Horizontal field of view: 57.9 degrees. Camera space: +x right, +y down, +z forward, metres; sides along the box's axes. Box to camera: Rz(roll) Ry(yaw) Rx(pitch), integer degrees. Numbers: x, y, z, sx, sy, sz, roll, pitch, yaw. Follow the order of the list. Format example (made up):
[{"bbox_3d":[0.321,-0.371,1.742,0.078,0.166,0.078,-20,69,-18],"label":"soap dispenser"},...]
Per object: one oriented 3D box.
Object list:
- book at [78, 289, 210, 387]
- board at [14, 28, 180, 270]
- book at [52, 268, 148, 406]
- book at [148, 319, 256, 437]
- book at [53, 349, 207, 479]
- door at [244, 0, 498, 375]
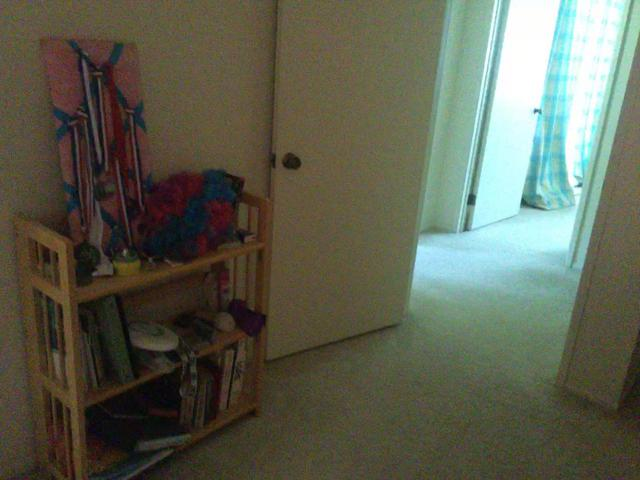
[{"bbox_3d":[-0.540,0.290,1.790,0.290,0.120,0.270,18,24,35],"label":"book"},{"bbox_3d":[-0.590,-0.260,1.600,0.160,0.590,0.360,18,24,35],"label":"board"},{"bbox_3d":[-0.600,0.260,1.590,0.160,0.300,0.170,18,24,35],"label":"book"},{"bbox_3d":[-0.400,0.460,1.980,0.220,0.240,0.280,18,24,35],"label":"book"},{"bbox_3d":[-0.590,0.540,1.820,0.320,0.180,0.330,18,24,35],"label":"book"},{"bbox_3d":[0.210,-0.270,2.490,1.040,1.460,0.290,-11,24,-35],"label":"door"}]
